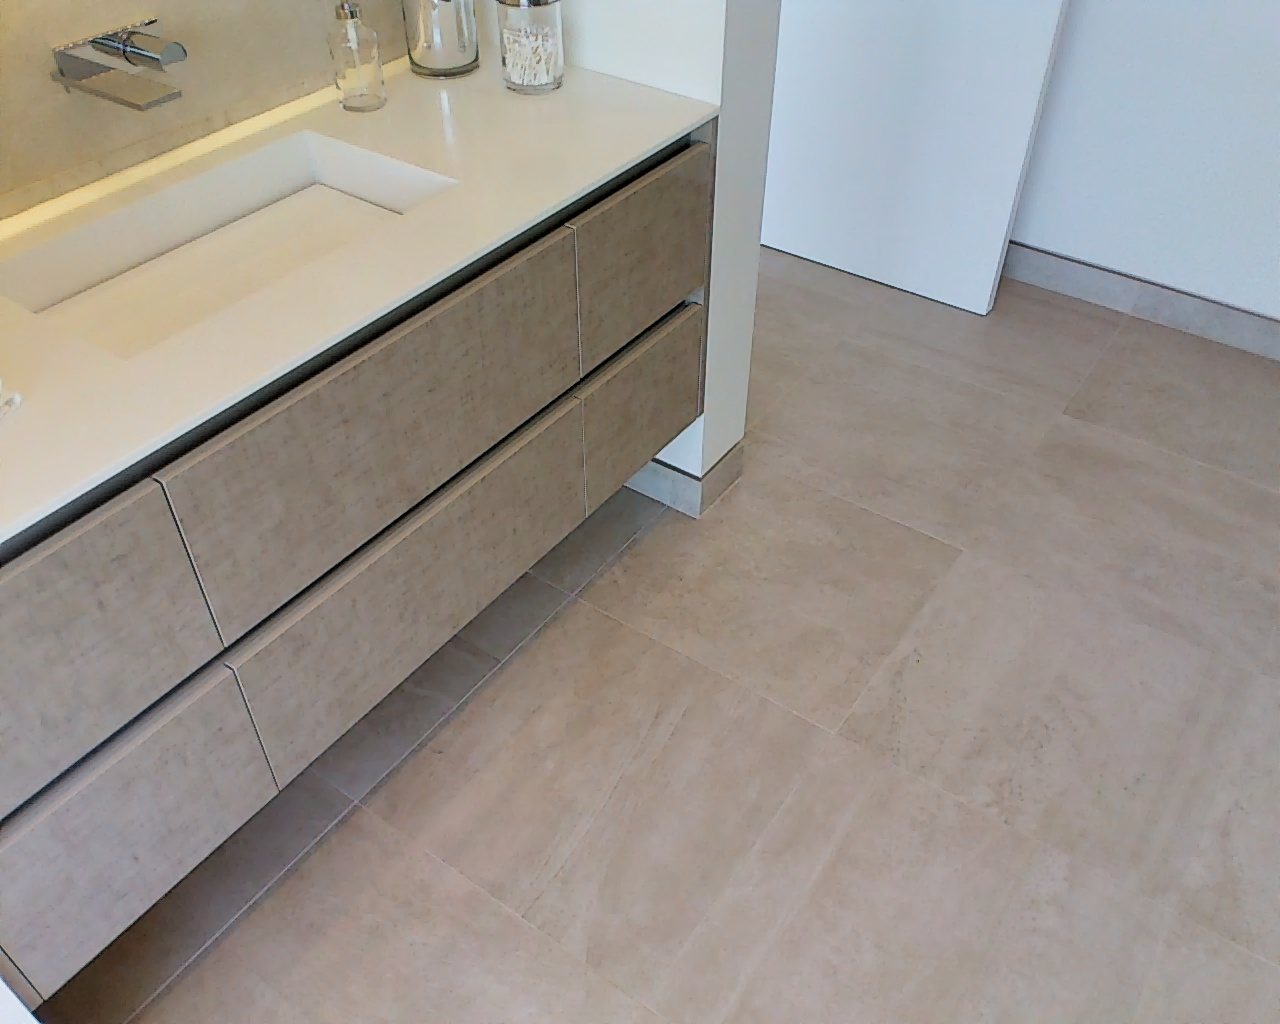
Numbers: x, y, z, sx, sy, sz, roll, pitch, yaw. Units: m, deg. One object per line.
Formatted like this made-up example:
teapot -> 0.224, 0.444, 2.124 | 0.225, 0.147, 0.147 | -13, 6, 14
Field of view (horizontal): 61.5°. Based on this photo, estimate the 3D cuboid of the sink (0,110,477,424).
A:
sink -> -0.560, -0.370, 1.480 | 0.340, 0.090, 0.610 | 25, 48, 25
